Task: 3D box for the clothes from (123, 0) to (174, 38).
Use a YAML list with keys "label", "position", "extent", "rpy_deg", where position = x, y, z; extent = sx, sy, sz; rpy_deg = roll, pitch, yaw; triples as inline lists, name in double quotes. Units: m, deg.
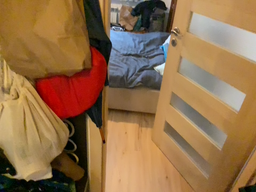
- label: "clothes"
  position: [0.350, -1.440, 3.950]
  extent: [0.840, 0.550, 0.360]
  rpy_deg: [5, 34, -2]
